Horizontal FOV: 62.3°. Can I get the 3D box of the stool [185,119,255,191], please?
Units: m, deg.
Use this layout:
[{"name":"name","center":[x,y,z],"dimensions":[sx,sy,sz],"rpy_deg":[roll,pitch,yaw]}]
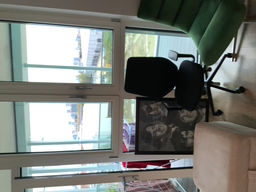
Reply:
[{"name":"stool","center":[0.870,0.580,1.870],"dimensions":[0.600,0.450,0.650],"rpy_deg":[-167,78,-77]}]
